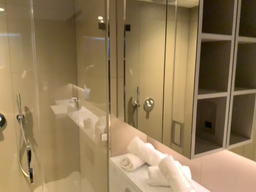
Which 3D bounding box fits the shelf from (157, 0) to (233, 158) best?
[{"bbox_3d":[0.310,-0.280,1.010,0.220,1.080,0.230,-4,11,-25],"label":"shelf"}]
